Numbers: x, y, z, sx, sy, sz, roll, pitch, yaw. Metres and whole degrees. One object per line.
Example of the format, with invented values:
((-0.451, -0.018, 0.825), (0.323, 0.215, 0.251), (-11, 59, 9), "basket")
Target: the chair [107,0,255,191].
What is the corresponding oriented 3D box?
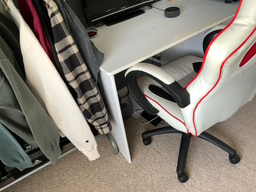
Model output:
((0.410, -0.140, 1.060), (0.640, 1.230, 0.720), (-27, 43, -19), "chair")
